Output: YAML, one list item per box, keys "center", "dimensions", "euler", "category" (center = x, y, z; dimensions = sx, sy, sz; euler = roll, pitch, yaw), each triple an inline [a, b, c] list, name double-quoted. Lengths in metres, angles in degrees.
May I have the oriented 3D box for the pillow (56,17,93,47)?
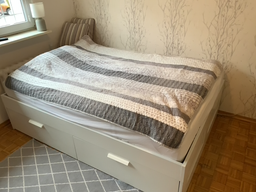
- center: [-0.760, -0.930, 3.060]
  dimensions: [0.350, 0.320, 0.310]
  euler: [14, 34, 25]
  category: "pillow"
